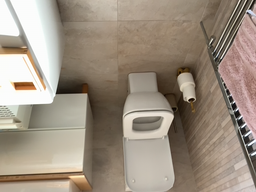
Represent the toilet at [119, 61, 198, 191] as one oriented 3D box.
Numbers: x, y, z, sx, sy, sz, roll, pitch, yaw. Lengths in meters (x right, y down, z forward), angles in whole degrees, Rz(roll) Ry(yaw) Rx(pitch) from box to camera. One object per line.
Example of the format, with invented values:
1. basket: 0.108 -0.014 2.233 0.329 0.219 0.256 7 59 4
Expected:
1. toilet: 0.150 0.250 1.630 0.400 0.810 0.620 -2 148 -3
